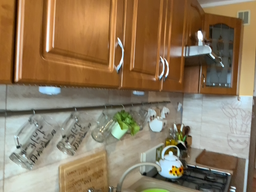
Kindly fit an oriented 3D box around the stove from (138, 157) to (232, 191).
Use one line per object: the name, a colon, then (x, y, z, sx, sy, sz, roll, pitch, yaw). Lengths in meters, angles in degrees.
stove: (0.470, 0.670, 1.700, 0.610, 0.110, 0.500, 5, 2, 30)
